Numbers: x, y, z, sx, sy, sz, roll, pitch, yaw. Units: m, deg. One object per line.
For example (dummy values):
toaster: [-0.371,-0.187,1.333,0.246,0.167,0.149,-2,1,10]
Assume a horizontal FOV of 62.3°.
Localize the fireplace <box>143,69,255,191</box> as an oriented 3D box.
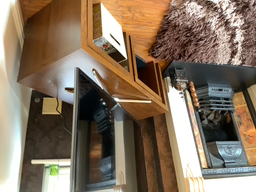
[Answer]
fireplace: [0.900,0.410,2.040,1.330,1.210,0.370,3,153,-17]
